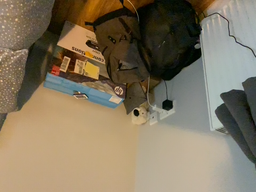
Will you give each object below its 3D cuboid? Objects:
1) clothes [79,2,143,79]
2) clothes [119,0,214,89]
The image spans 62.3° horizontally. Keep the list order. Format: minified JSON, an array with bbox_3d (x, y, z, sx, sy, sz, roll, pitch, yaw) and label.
[{"bbox_3d":[-0.090,-0.330,1.300,0.320,0.300,0.300,6,149,0],"label":"clothes"},{"bbox_3d":[0.200,-0.300,1.240,0.320,0.260,0.430,20,146,-22],"label":"clothes"}]
